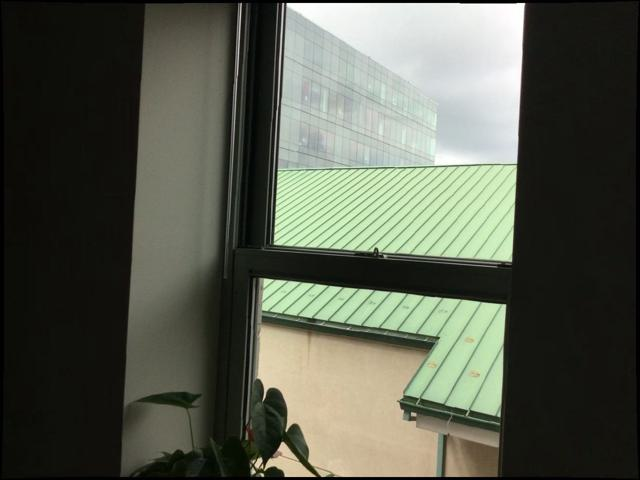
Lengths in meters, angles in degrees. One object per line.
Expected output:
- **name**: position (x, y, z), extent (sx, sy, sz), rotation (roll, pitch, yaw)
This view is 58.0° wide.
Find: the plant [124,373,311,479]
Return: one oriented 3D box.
- **plant**: position (-0.239, 0.581, 1.260), extent (0.299, 0.481, 0.230), rotation (10, 0, 22)
